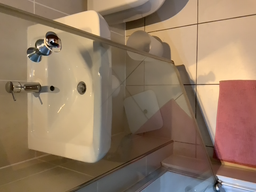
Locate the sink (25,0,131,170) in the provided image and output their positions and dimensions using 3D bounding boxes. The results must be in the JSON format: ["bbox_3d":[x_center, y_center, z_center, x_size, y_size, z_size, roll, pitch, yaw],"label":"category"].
[{"bbox_3d":[-0.250,-0.050,0.990,0.480,0.200,0.620,4,94,33],"label":"sink"}]
